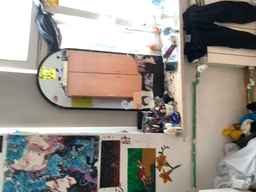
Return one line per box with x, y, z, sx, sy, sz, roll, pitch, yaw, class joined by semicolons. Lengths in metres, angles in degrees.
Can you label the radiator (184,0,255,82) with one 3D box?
0.830;-0.610;1.780;0.110;0.740;0.940;153;118;-70;radiator
